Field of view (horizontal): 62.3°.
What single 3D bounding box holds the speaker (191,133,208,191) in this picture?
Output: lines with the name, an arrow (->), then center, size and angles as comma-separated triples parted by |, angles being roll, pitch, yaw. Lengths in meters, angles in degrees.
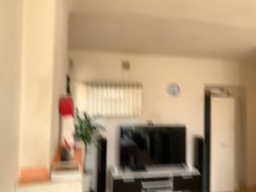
speaker -> 1.360, 1.340, 4.040 | 0.200, 1.230, 0.250 | 1, -2, -10
